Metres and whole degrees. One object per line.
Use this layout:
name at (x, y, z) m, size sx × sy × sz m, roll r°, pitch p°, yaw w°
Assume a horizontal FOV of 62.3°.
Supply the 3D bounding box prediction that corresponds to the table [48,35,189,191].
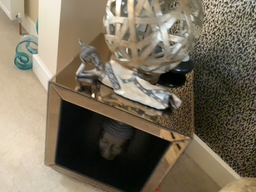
table at (-0.040, 0.100, 0.920) m, size 0.410 × 0.490 × 0.400 m, roll 21°, pitch 38°, yaw 2°

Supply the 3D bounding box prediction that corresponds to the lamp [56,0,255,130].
lamp at (0.120, -0.330, 0.590) m, size 0.440 × 0.640 × 0.410 m, roll -17°, pitch 51°, yaw -38°
